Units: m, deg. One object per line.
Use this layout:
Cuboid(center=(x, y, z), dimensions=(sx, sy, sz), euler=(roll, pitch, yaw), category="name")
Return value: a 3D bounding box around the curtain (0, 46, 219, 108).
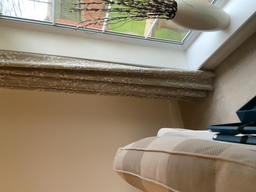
Cuboid(center=(-0.400, -0.110, 1.560), dimensions=(0.400, 2.280, 0.170), euler=(122, 145, -54), category="curtain")
